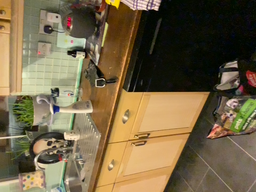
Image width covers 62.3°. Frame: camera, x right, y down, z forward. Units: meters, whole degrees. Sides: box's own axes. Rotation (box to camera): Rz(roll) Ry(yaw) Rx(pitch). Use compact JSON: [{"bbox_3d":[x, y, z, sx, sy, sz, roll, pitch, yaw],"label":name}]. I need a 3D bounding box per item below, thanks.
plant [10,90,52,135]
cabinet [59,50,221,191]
[{"bbox_3d":[-0.770,0.120,1.670,0.220,0.270,0.270,47,130,49],"label":"plant"},{"bbox_3d":[-0.030,0.500,1.900,0.610,0.880,1.590,48,131,48],"label":"cabinet"}]
